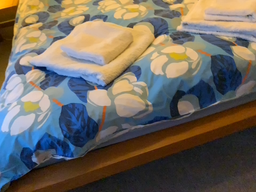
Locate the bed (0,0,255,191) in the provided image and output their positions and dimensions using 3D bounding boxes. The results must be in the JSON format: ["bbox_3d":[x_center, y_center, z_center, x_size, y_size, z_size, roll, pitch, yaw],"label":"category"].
[{"bbox_3d":[0.040,-0.560,1.660,1.760,0.530,2.240,-17,46,-8],"label":"bed"}]
